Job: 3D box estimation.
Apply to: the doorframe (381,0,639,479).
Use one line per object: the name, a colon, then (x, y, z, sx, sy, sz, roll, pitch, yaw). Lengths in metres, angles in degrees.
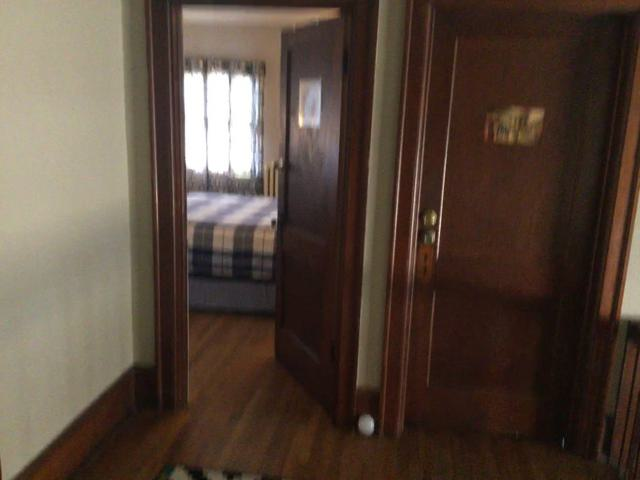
doorframe: (0.880, 0.000, 2.560, 1.000, 2.020, 0.330, 6, 9, 9)

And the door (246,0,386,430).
door: (-0.080, -0.130, 3.090, 0.300, 1.980, 0.870, 1, 9, -21)

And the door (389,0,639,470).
door: (0.850, -0.010, 2.620, 0.860, 1.970, 0.250, 6, 9, 9)

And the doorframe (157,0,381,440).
doorframe: (-0.270, -0.100, 2.720, 0.910, 2.010, 0.130, 6, 9, 9)
